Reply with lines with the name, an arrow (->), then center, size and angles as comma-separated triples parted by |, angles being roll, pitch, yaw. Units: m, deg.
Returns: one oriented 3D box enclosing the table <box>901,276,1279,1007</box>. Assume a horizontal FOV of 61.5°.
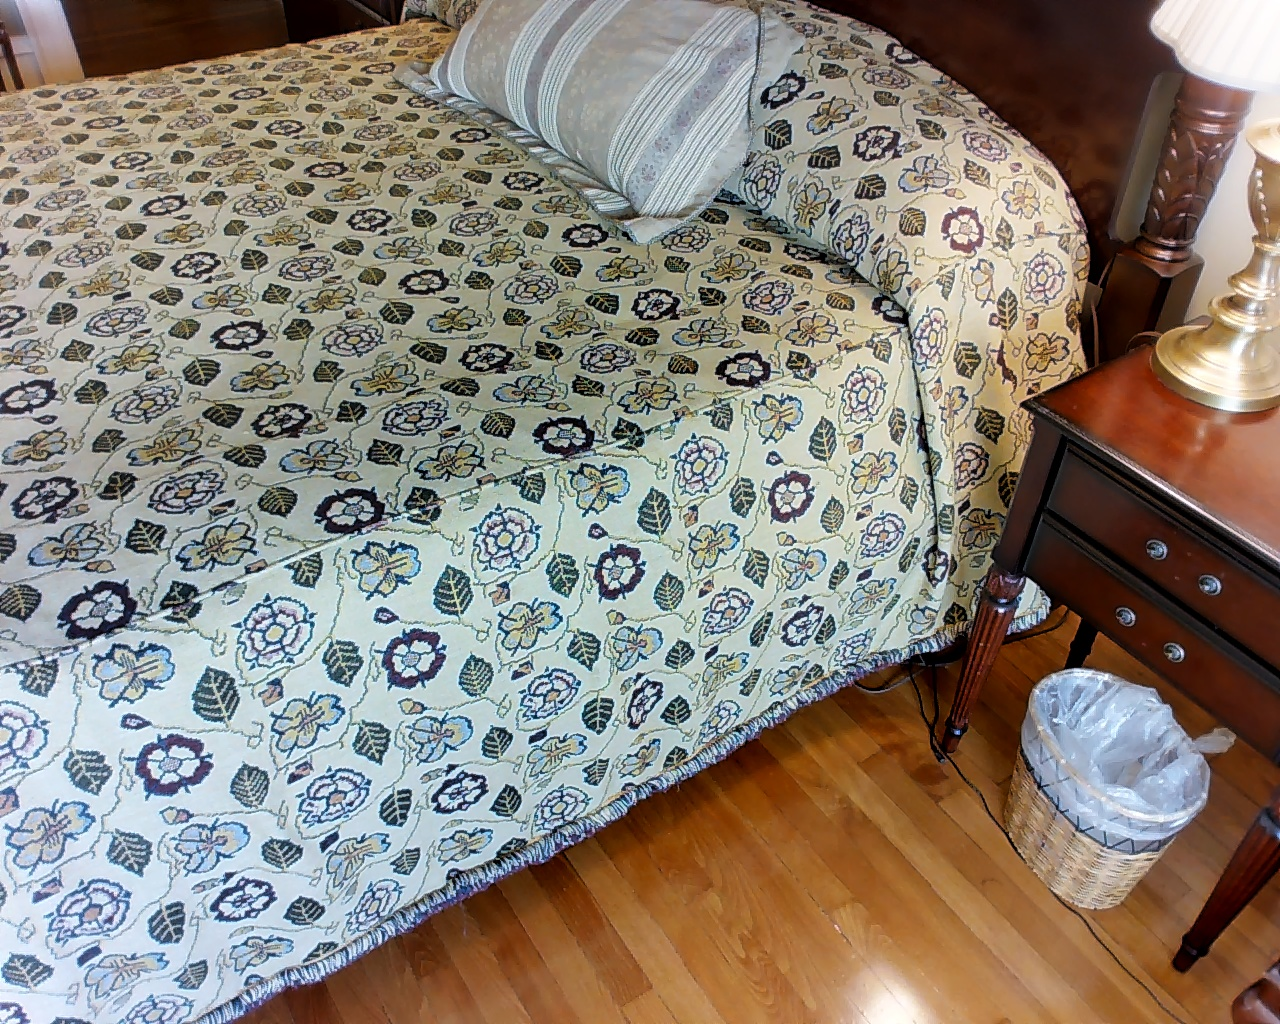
table -> 0.900, 0.170, 1.630 | 0.670, 0.780, 0.540 | -21, 46, -23
